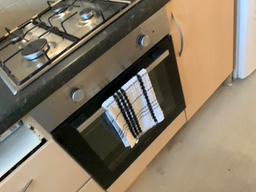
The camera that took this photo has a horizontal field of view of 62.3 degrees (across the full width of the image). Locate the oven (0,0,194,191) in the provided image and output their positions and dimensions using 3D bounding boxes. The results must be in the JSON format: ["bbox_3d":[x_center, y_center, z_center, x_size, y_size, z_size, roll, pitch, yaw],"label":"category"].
[{"bbox_3d":[-0.120,0.030,1.190,0.610,0.960,0.610,-43,46,-18],"label":"oven"}]

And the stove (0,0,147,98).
[{"bbox_3d":[-0.290,-0.310,0.870,0.610,0.040,0.560,-43,46,-18],"label":"stove"}]
